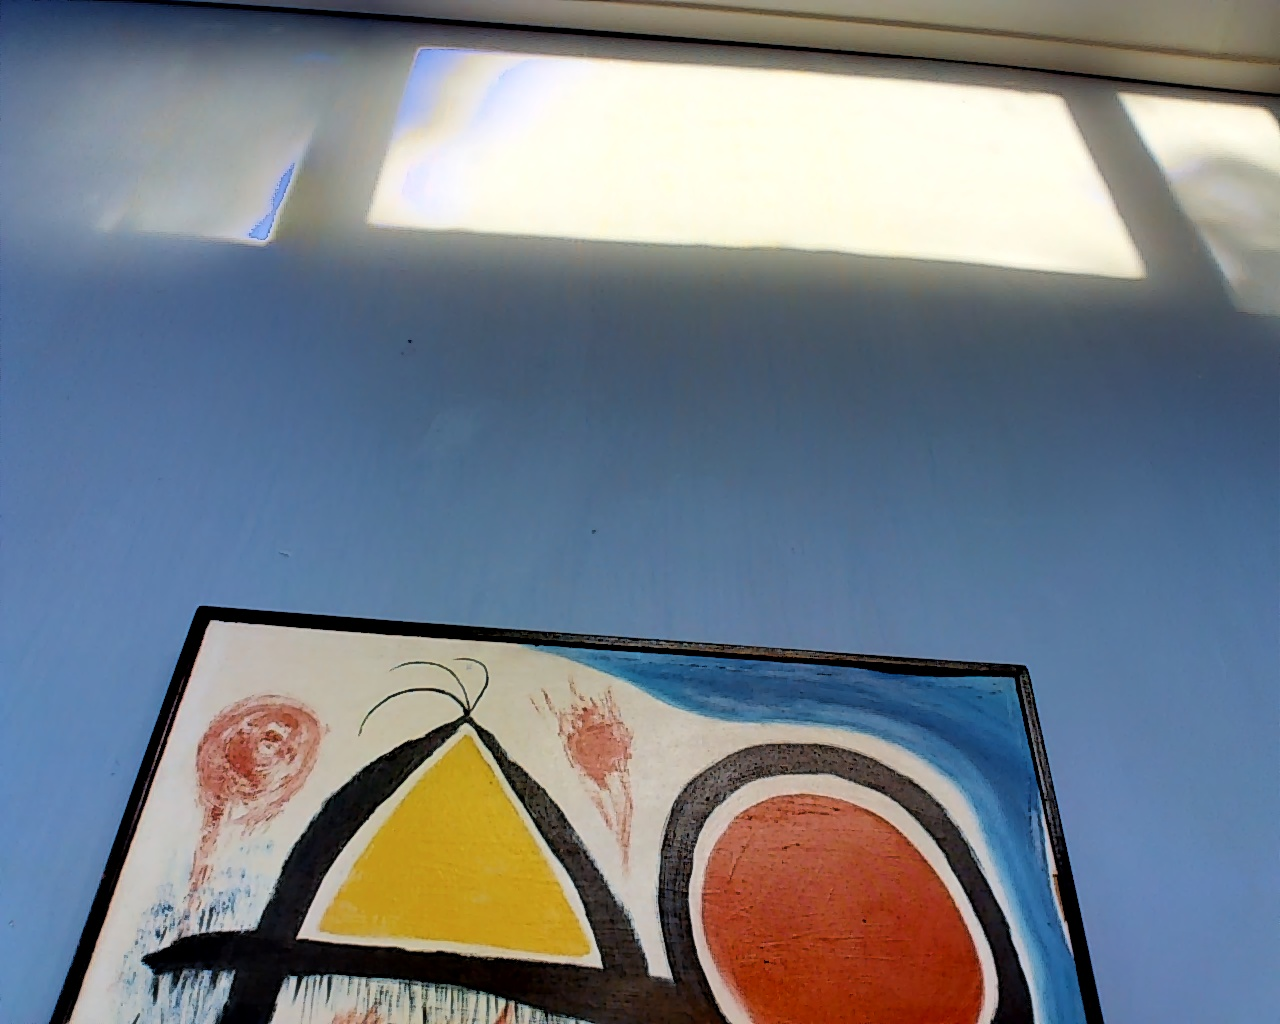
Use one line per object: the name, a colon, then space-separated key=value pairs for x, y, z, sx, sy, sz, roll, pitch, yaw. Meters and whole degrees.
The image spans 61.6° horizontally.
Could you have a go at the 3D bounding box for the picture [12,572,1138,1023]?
picture: x=-0.030 y=0.320 z=0.800 sx=0.770 sy=0.590 sz=0.060 roll=4 pitch=-41 yaw=-3
